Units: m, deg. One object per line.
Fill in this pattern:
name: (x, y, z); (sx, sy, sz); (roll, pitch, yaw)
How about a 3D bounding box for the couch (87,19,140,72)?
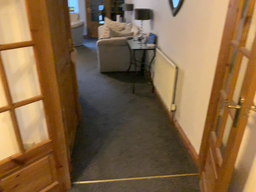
couch: (-0.410, -1.320, 5.100); (1.000, 0.790, 2.140); (-2, 26, -7)
